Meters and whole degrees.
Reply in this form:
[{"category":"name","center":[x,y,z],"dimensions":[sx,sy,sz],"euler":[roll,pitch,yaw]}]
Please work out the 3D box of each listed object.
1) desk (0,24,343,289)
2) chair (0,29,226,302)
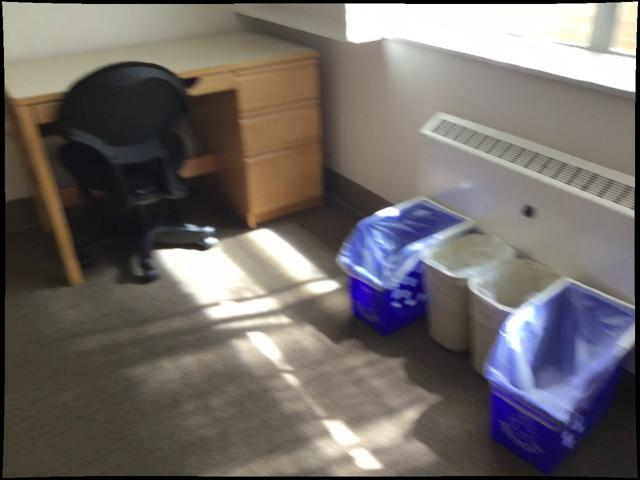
[{"category":"desk","center":[-0.629,-0.460,2.620],"dimensions":[1.309,0.741,0.670],"euler":[-20,35,-27]},{"category":"chair","center":[-0.809,-0.330,2.320],"dimensions":[0.570,0.841,0.560],"euler":[-22,36,-30]}]
